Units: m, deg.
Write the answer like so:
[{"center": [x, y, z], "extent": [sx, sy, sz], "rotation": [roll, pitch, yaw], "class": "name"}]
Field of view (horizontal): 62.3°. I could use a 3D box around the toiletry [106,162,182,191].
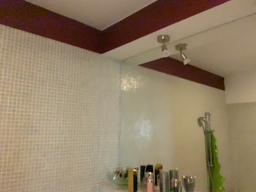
[{"center": [0.100, 0.590, 1.530], "extent": [0.500, 0.140, 0.250], "rotation": [-7, -12, 42], "class": "toiletry"}]
